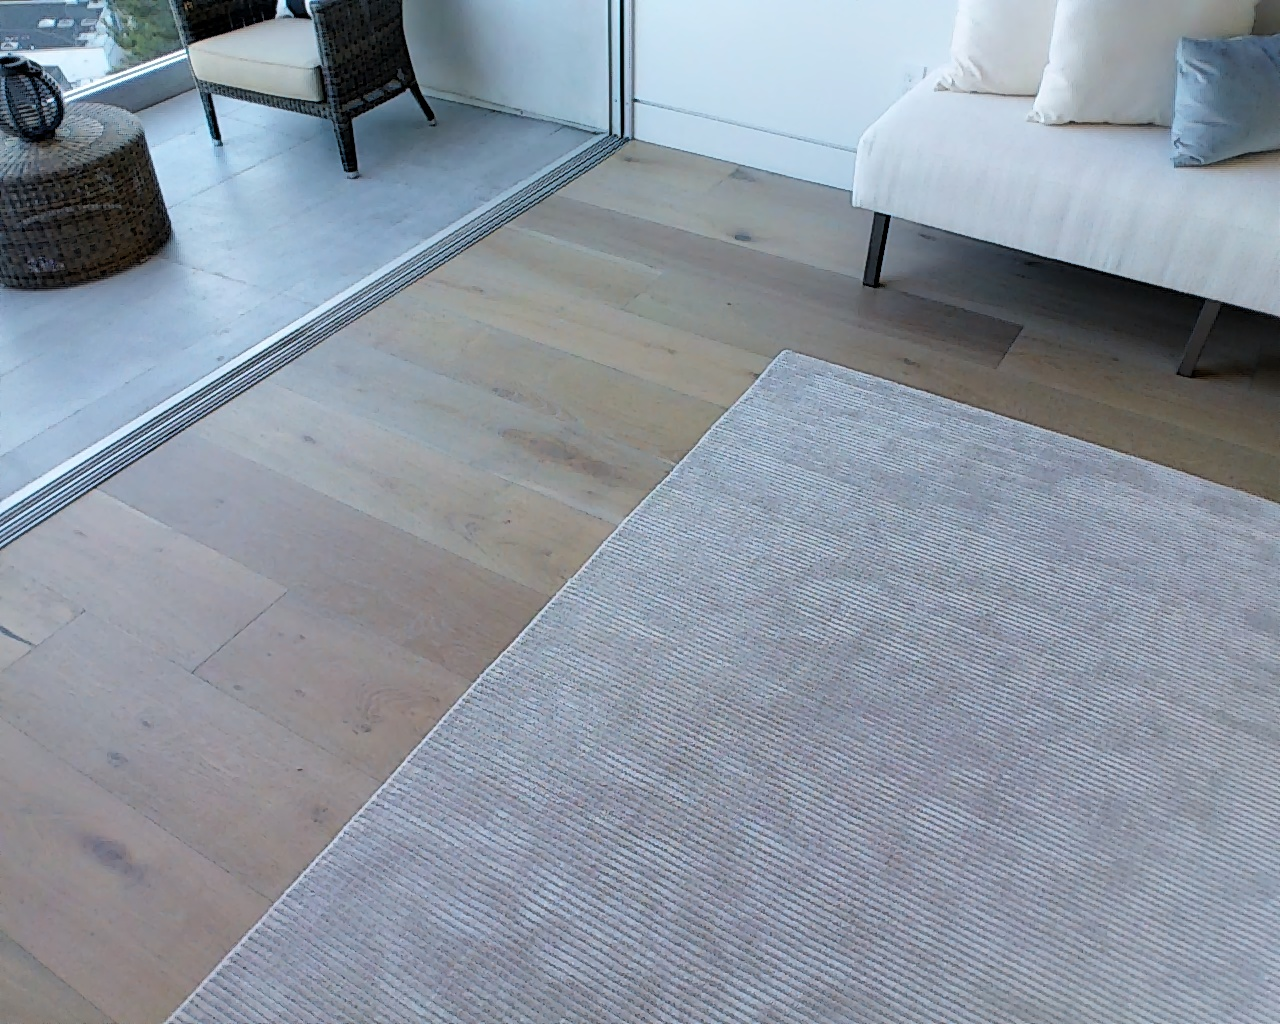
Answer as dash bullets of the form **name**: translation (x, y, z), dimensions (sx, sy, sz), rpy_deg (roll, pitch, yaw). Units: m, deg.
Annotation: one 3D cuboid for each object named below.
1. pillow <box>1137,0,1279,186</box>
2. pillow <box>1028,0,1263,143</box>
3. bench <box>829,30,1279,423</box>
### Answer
- **pillow**: translation (1.510, -1.040, 2.600), dimensions (0.420, 0.270, 0.340), rpy_deg (-32, 51, -28)
- **pillow**: translation (1.240, -1.230, 2.630), dimensions (0.440, 0.530, 0.240), rpy_deg (9, 45, 11)
- **bench**: translation (1.570, -0.700, 2.790), dimensions (1.960, 0.520, 0.710), rpy_deg (22, 48, 22)
